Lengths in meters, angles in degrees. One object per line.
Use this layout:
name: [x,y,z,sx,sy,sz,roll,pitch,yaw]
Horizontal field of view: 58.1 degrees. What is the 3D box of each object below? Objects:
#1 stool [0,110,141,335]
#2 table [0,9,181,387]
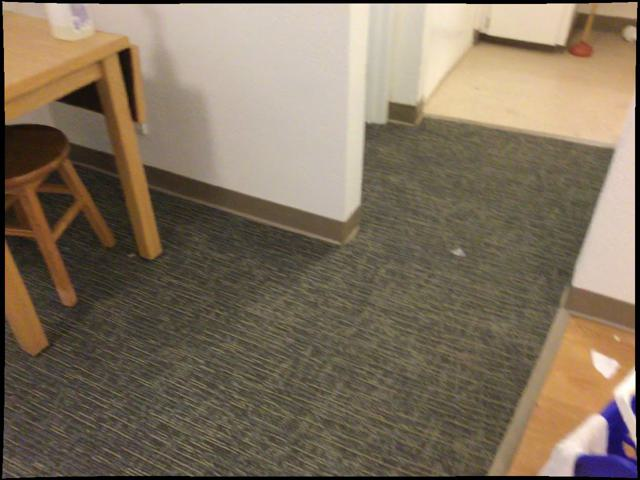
stool: [-0.997,-0.080,1.910,0.519,0.471,0.450,16,42,21]
table: [-1.067,-0.201,1.810,0.838,0.781,0.730,16,42,21]
